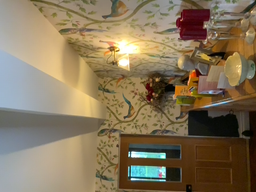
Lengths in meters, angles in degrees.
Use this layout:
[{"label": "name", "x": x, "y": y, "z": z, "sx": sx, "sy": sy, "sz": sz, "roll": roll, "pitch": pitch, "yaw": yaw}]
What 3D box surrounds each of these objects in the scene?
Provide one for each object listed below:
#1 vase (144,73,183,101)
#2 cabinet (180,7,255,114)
[{"label": "vase", "x": 0.530, "y": -0.130, "z": 3.230, "sx": 0.280, "sy": 0.550, "sz": 0.370, "roll": 67, "pitch": -155, "yaw": -84}, {"label": "cabinet", "x": 1.310, "y": -0.130, "z": 2.230, "sx": 2.310, "sy": 1.030, "sz": 0.580, "roll": 69, "pitch": -157, "yaw": -84}]
